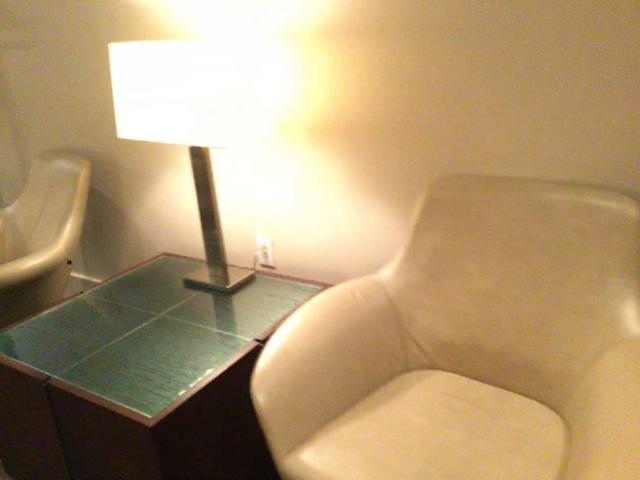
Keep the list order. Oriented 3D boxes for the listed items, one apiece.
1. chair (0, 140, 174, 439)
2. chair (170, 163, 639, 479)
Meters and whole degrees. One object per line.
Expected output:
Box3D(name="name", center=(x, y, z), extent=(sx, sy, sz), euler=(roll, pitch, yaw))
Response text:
Box3D(name="chair", center=(-1.230, 0.130, 2.190), extent=(0.890, 0.790, 0.880), euler=(-22, 27, -40))
Box3D(name="chair", center=(0.330, 0.340, 1.300), extent=(0.890, 0.800, 0.800), euler=(10, 24, 33))
